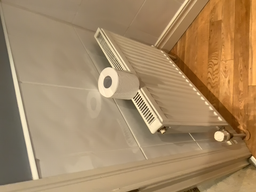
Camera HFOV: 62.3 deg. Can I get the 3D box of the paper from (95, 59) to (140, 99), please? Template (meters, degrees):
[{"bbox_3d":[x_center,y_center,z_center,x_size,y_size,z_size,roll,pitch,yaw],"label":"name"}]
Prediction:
[{"bbox_3d":[-0.040,-0.060,0.760,0.070,0.100,0.120,-53,51,29],"label":"paper"}]
